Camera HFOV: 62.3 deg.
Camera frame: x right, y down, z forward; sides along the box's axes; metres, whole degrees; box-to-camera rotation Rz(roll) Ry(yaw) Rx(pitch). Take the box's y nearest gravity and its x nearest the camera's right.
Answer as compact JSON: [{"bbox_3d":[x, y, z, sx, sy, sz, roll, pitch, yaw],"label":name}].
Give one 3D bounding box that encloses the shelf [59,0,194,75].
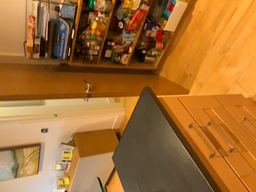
[{"bbox_3d":[-0.040,-0.650,2.040,0.290,1.060,0.900,60,141,38],"label":"shelf"}]
